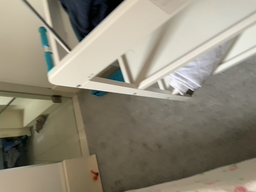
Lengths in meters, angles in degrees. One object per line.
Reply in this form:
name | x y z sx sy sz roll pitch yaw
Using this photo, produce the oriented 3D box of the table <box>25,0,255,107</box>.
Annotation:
table | 0.260 -0.400 0.820 0.820 0.920 0.560 -30 67 32
